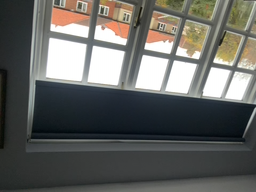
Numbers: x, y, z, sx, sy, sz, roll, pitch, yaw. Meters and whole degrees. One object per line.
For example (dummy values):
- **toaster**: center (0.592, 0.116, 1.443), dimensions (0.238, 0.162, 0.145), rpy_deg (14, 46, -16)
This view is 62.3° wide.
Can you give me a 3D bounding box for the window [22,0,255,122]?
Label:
- **window**: center (0.300, -0.360, 1.510), dimensions (1.810, 1.010, 0.200), rpy_deg (6, -161, -22)
